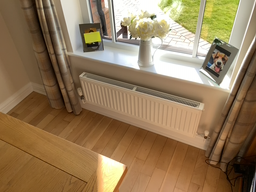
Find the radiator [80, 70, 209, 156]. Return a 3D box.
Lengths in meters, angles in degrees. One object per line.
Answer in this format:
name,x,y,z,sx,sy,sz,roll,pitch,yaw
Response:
radiator,0.080,0.120,1.730,1.020,0.450,0.090,19,46,23

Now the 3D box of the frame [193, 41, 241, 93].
frame,0.570,-0.190,1.390,0.120,0.250,0.210,-27,47,-25

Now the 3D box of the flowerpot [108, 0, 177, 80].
flowerpot,0.110,-0.450,1.540,0.350,0.520,0.290,19,46,24
